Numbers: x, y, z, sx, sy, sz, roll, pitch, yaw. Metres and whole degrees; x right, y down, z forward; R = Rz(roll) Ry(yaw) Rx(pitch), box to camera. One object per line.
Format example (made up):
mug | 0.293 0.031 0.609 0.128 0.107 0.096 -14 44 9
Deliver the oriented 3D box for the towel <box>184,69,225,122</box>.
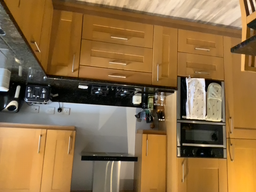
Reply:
towel | 0.840 0.000 2.340 0.450 0.550 0.070 5 170 -13

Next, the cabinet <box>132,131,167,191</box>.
cabinet | 0.250 0.860 2.580 0.320 0.850 0.320 5 171 -11
